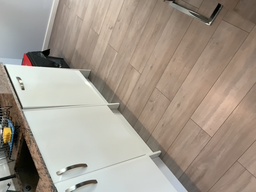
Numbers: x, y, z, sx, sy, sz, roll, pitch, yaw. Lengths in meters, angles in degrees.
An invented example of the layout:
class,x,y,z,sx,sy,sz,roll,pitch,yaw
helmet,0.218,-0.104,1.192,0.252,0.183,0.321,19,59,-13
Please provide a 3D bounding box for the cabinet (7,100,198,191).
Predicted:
class,x,y,z,sx,sy,sz,roll,pitch,yaw
cabinet,-0.200,0.660,1.520,1.200,0.870,0.620,47,124,35

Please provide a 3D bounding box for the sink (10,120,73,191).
class,x,y,z,sx,sy,sz,roll,pitch,yaw
sink,-0.630,0.500,1.490,0.460,0.200,0.440,47,124,35
